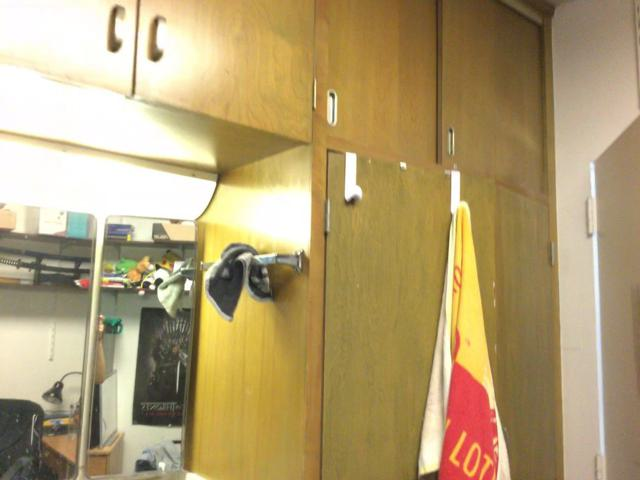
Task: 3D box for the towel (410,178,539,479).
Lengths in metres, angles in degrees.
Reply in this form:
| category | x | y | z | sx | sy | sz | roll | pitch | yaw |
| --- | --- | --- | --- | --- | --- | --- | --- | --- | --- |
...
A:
| category | x | y | z | sx | sy | sz | roll | pitch | yaw |
| --- | --- | --- | --- | --- | --- | --- | --- | --- | --- |
| towel | 0.390 | 0.490 | 1.430 | 0.310 | 1.240 | 0.140 | 7 | -10 | -40 |

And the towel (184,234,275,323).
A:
| category | x | y | z | sx | sy | sz | roll | pitch | yaw |
| --- | --- | --- | --- | --- | --- | --- | --- | --- | --- |
| towel | -0.220 | 0.100 | 1.410 | 0.160 | 0.200 | 0.150 | 7 | -10 | -40 |
